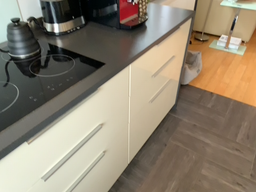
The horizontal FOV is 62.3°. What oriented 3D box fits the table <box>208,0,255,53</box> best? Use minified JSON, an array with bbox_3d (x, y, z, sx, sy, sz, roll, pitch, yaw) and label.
[{"bbox_3d":[1.530,-1.030,3.020,0.500,0.590,0.410,23,43,25],"label":"table"}]
